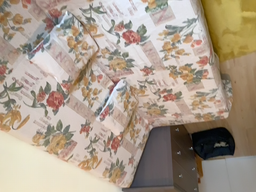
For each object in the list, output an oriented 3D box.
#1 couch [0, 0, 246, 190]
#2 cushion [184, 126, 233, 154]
[{"bbox_3d":[-0.050,-0.160,1.340,1.080,0.970,2.090,-14,142,24],"label":"couch"},{"bbox_3d":[1.160,0.650,3.050,0.550,0.130,0.550,-14,142,25],"label":"cushion"}]
